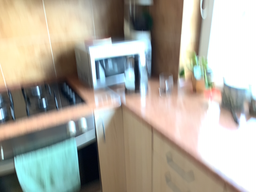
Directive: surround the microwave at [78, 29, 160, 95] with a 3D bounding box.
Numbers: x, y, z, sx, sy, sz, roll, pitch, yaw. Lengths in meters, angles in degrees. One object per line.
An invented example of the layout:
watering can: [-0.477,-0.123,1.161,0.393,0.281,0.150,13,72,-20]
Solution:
microwave: [-0.070,-0.280,1.540,0.420,0.340,0.410,-16,27,-29]
